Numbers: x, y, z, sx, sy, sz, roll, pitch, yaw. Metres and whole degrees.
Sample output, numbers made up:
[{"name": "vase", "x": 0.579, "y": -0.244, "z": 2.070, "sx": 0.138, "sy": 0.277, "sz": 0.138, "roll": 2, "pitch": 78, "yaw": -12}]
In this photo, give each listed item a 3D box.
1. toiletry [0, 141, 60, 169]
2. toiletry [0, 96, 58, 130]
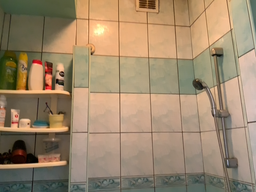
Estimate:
[{"name": "toiletry", "x": -0.560, "y": 0.310, "z": 1.130, "sx": 0.350, "sy": 0.130, "sz": 0.140, "roll": 1, "pitch": -12, "yaw": -8}, {"name": "toiletry", "x": -0.580, "y": 0.100, "z": 1.170, "sx": 0.350, "sy": 0.170, "sz": 0.120, "roll": 2, "pitch": -12, "yaw": -12}]
